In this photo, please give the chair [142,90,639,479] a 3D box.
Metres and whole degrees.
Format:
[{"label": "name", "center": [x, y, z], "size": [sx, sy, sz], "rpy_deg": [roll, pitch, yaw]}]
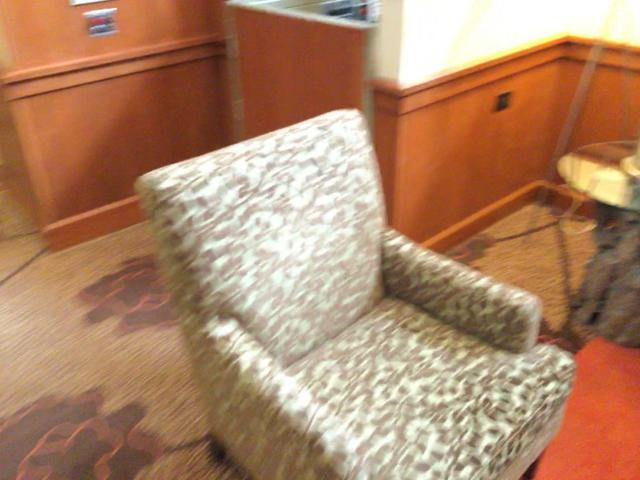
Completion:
[{"label": "chair", "center": [0.140, 0.240, 1.540], "size": [0.760, 0.950, 0.900], "rpy_deg": [-21, 35, -27]}]
